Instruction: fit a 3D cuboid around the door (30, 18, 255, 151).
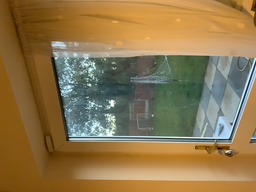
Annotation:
[{"bbox_3d":[0.560,0.000,1.170,0.050,1.990,0.800,-89,0,-58],"label":"door"}]
